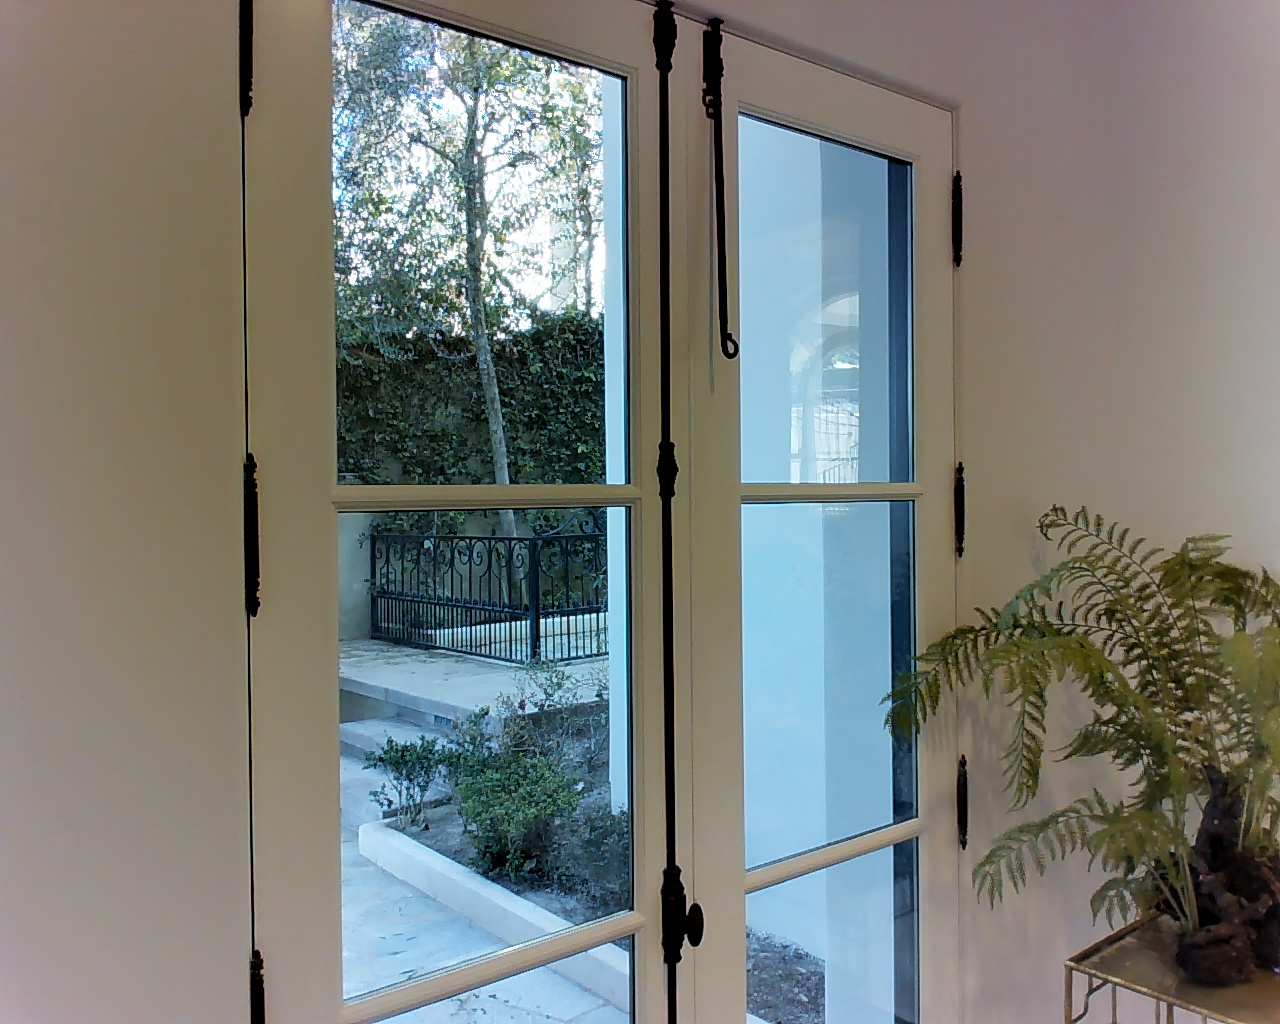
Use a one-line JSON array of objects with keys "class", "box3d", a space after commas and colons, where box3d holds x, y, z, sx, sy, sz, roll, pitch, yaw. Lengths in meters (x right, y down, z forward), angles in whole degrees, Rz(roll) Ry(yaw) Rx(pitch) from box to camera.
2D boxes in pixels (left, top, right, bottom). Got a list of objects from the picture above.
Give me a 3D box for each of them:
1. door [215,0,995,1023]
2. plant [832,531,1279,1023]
[{"class": "door", "box3d": [0.110, 0.390, 1.840, 1.560, 2.451, 0.080, -1, 0, -38]}, {"class": "plant", "box3d": [1.150, 0.490, 2.000, 1.150, 0.870, 1.050, -1, 0, -40]}]
